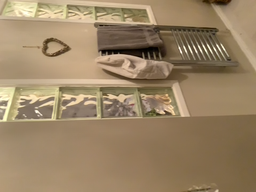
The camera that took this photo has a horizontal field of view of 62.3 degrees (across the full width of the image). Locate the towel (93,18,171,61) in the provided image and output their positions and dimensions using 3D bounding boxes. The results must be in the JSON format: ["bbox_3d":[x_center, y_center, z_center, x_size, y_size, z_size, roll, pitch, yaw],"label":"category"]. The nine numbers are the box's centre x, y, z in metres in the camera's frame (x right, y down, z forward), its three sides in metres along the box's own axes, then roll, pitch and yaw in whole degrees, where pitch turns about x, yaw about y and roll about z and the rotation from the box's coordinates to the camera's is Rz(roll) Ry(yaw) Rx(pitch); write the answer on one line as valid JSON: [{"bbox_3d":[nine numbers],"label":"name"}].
[{"bbox_3d":[0.010,-0.400,1.500,0.120,0.500,0.310,102,164,-48],"label":"towel"}]
